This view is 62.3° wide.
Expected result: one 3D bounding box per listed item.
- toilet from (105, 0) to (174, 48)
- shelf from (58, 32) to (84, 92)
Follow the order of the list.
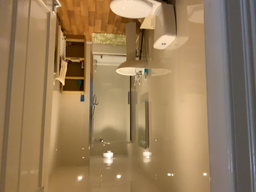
[{"bbox_3d":[0.090,-0.990,2.260,0.620,0.780,0.470,1,174,-11],"label":"toilet"},{"bbox_3d":[-1.060,-0.620,3.970,0.430,1.050,0.270,1,174,-11],"label":"shelf"}]
